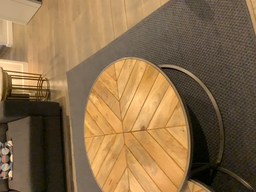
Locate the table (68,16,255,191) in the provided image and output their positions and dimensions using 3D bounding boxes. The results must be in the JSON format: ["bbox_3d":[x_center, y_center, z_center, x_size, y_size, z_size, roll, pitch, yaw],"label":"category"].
[{"bbox_3d":[0.140,0.720,1.260,1.070,0.370,1.940,-17,76,46],"label":"table"}]

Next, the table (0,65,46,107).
[{"bbox_3d":[-1.580,-0.110,3.010,0.520,0.610,0.460,-15,78,46],"label":"table"}]
